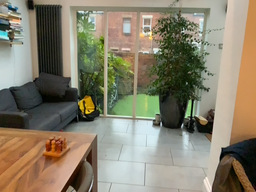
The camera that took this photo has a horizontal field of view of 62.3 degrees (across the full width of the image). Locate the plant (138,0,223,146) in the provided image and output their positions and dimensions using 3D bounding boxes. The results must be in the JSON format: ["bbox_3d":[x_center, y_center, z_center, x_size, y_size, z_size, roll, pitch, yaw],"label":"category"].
[{"bbox_3d":[0.750,-0.490,3.390,0.960,2.200,1.000,4,13,8],"label":"plant"}]
